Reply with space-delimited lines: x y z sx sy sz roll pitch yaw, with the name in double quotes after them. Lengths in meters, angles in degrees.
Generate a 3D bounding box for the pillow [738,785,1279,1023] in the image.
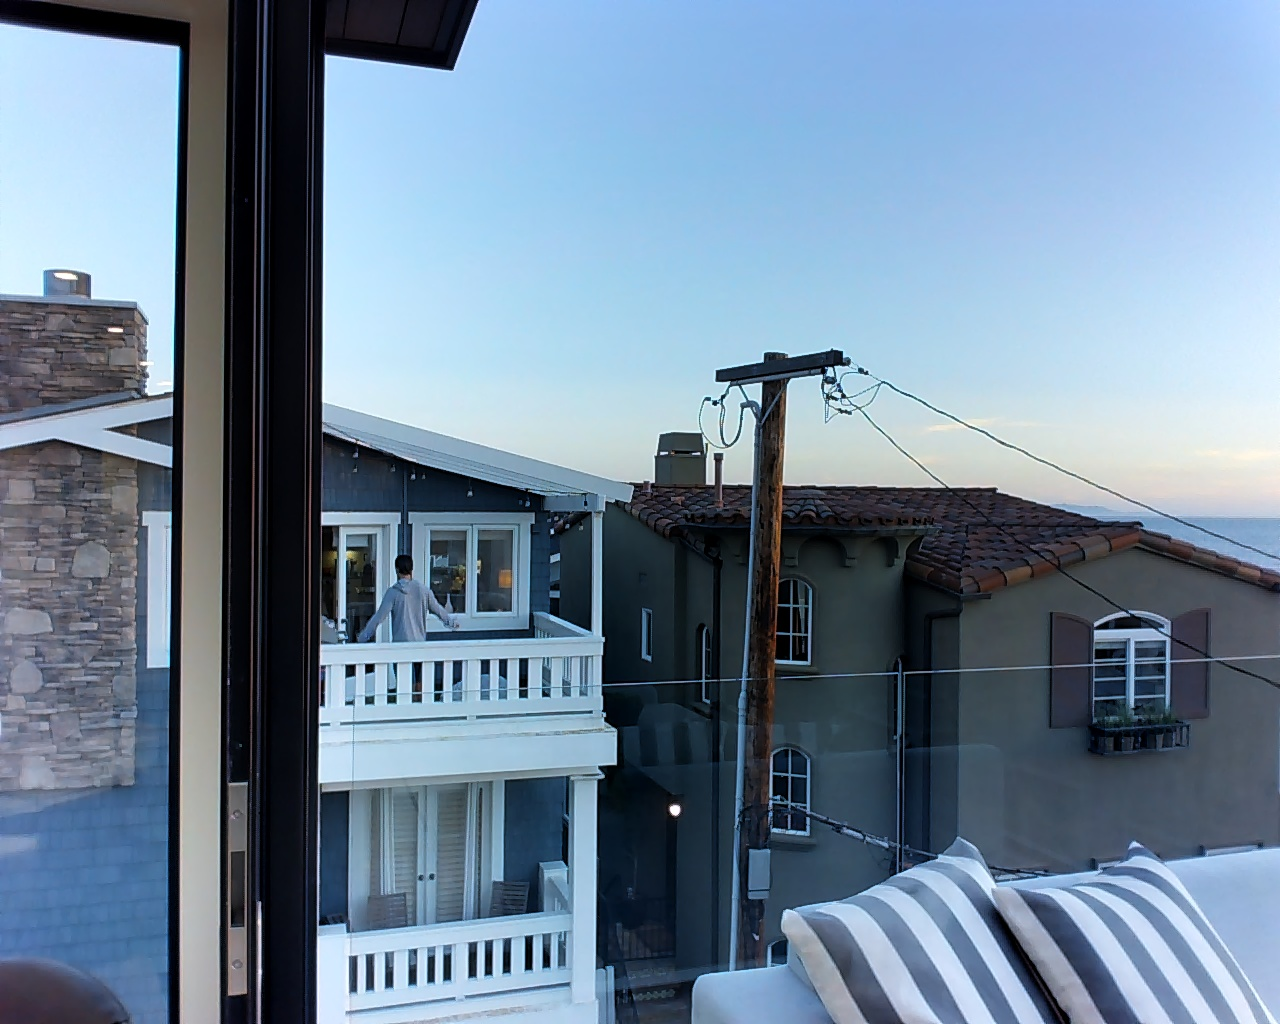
1.010 0.880 2.140 1.530 0.460 0.540 0 0 -17 "pillow"
